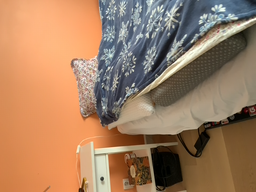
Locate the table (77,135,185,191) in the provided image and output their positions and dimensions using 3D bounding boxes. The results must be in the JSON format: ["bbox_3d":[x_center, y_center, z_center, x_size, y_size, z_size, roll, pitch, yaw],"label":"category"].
[{"bbox_3d":[0.010,0.570,1.620,0.360,0.700,0.450,145,122,-60],"label":"table"}]
